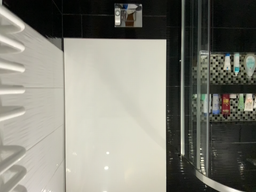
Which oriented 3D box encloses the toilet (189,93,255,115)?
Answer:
[{"bbox_3d":[0.930,0.070,1.950,0.700,0.180,0.150,0,-177,-7],"label":"toilet"}]
